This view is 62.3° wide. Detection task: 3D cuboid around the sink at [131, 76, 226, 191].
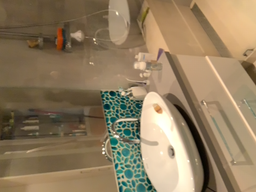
[{"bbox_3d":[0.200,0.240,1.100,0.380,0.130,0.570,118,145,-48],"label":"sink"}]
